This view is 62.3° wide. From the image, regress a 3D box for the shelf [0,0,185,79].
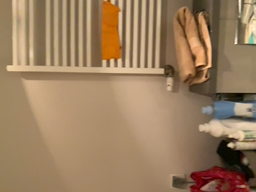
[{"bbox_3d":[-0.170,-0.350,1.120,0.090,0.930,0.500,-134,45,-81],"label":"shelf"}]
